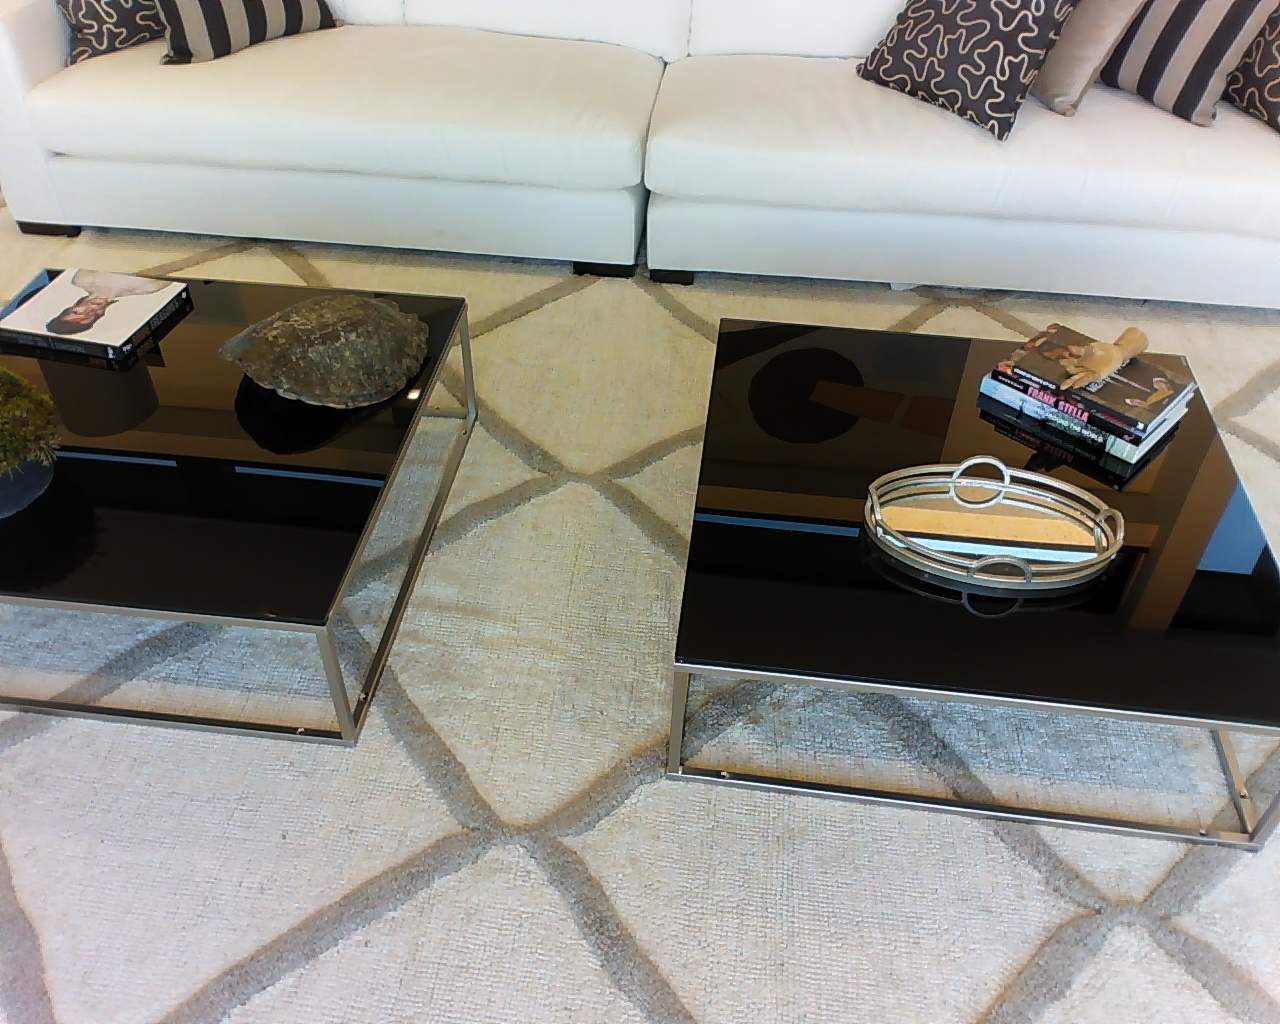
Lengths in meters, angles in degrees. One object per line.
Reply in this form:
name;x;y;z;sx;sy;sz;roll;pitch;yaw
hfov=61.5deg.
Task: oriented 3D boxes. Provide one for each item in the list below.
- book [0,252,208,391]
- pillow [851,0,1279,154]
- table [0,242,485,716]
book;-1.180;-0.420;2.330;0.330;0.110;0.340;5;42;5
pillow;1.280;-1.370;2.850;1.350;0.500;0.750;5;42;5
table;-0.930;-0.120;2.180;1.020;0.400;0.900;5;42;4
